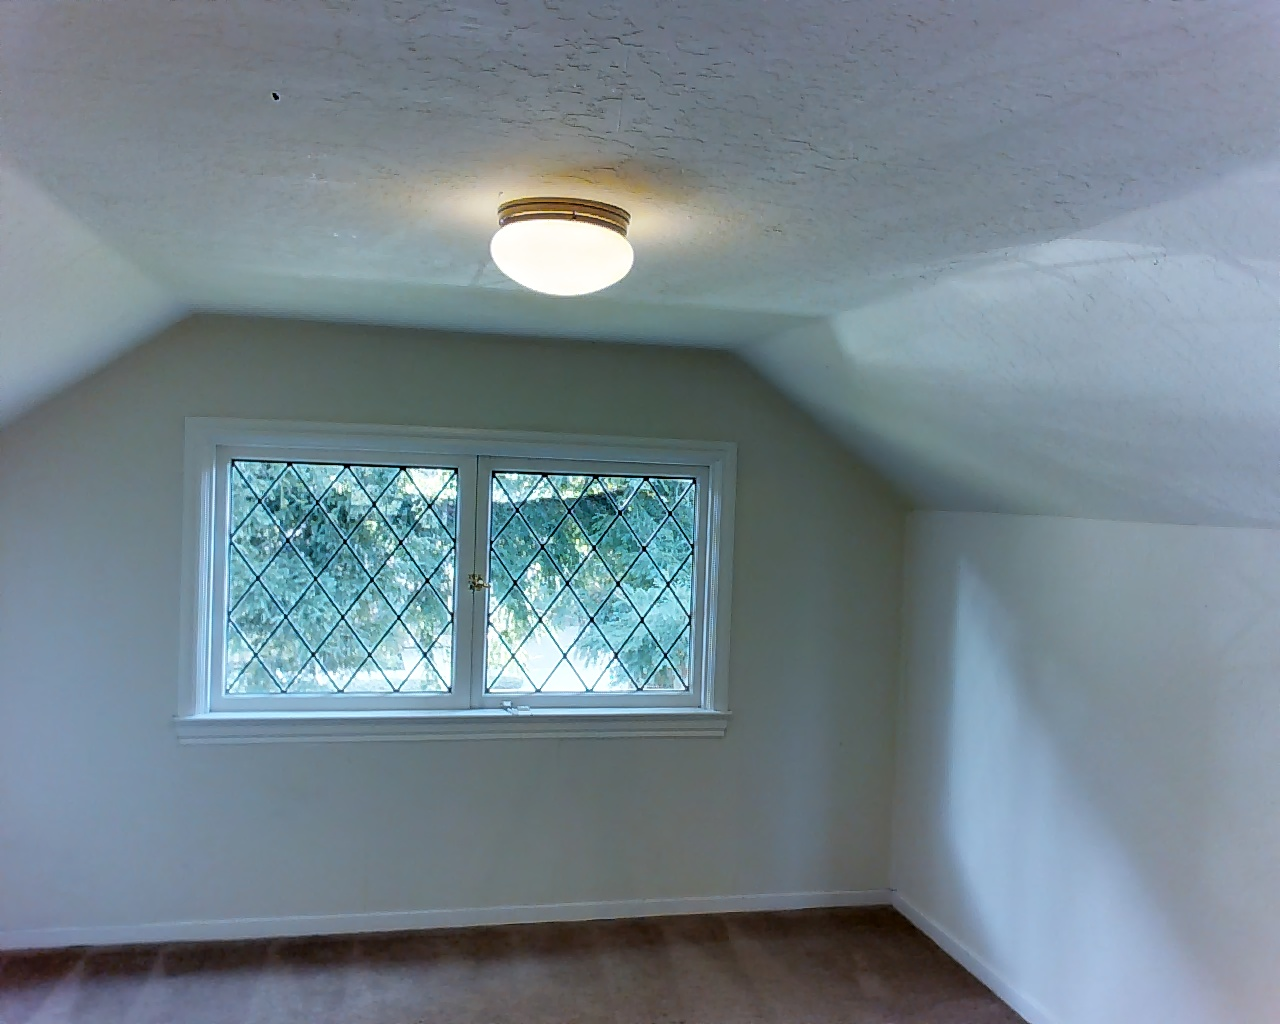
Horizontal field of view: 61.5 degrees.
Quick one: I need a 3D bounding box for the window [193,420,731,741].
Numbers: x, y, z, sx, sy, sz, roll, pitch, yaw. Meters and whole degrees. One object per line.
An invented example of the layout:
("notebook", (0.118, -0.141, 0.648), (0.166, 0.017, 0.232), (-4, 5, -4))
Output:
("window", (-0.530, 0.230, 3.490), (1.660, 0.960, 0.160), (2, -3, -13))
